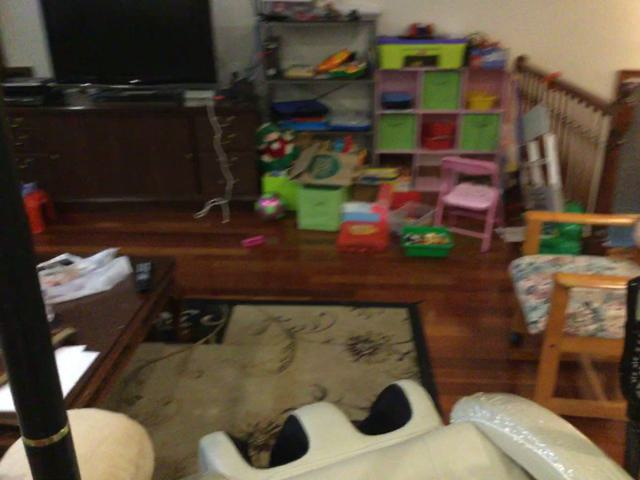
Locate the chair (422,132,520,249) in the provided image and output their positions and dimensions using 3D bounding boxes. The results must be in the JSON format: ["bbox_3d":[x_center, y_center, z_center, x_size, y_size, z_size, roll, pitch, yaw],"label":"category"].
[{"bbox_3d":[0.870,-0.300,3.340,0.410,0.520,0.400,13,27,24],"label":"chair"}]

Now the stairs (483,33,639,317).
[{"bbox_3d":[1.840,-0.510,3.470,1.150,1.210,1.710,1,25,1],"label":"stairs"}]

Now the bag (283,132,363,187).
[{"bbox_3d":[0.020,-0.520,3.690,0.480,0.240,0.380,1,25,1],"label":"bag"}]

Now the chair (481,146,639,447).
[{"bbox_3d":[0.970,0.170,2.060,0.600,0.830,0.640,4,25,7],"label":"chair"}]
